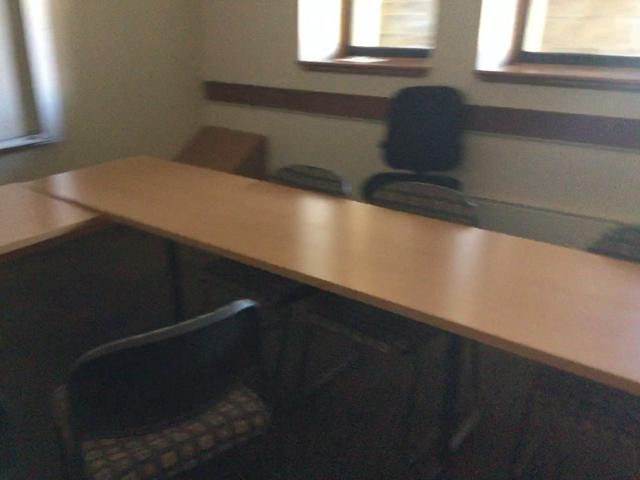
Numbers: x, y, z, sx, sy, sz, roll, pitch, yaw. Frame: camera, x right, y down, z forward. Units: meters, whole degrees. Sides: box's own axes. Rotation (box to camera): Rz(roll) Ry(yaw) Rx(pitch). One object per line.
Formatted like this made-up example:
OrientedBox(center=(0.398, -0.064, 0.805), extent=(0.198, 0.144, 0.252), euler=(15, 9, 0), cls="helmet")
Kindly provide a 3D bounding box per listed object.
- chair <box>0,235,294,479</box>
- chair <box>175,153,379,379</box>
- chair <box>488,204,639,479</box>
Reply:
OrientedBox(center=(-0.440, 0.420, 1.430), extent=(0.510, 0.680, 0.540), euler=(-10, 22, -36), cls="chair")
OrientedBox(center=(-0.160, 0.050, 2.170), extent=(0.530, 0.630, 0.510), euler=(15, 21, 33), cls="chair")
OrientedBox(center=(0.850, 0.360, 1.580), extent=(0.530, 0.760, 0.510), euler=(15, 21, 33), cls="chair")
